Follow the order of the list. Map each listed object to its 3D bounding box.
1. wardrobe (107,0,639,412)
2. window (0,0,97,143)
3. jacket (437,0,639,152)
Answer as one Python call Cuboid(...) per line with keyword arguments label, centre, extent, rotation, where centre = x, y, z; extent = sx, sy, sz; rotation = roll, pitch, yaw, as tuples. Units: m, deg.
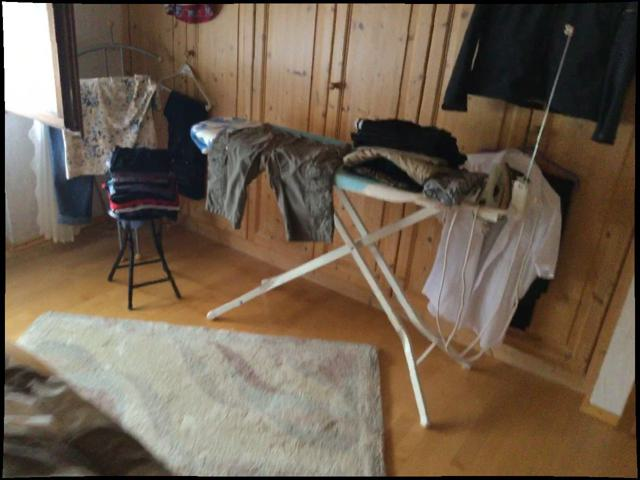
Cuboid(label="wardrobe", centre=(0.060, -0.901, 2.380), extent=(2.708, 2.472, 0.220), rotation=(20, 31, 30))
Cuboid(label="window", centre=(-1.209, -1.071, 2.250), extent=(0.690, 1.251, 0.120), rotation=(21, 31, 30))
Cuboid(label="jacket", centre=(0.769, -0.801, 1.830), extent=(0.630, 0.891, 0.220), rotation=(20, 31, 30))
